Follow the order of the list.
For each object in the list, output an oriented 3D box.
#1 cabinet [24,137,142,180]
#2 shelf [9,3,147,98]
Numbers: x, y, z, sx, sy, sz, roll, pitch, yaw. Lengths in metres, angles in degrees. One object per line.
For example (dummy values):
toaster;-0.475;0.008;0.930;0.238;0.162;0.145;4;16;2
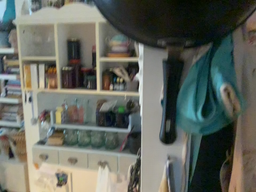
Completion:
cabinet;-0.280;0.380;1.340;0.720;0.140;0.150;2;11;11
shelf;-0.280;-0.250;1.220;0.760;0.470;0.140;2;11;11
